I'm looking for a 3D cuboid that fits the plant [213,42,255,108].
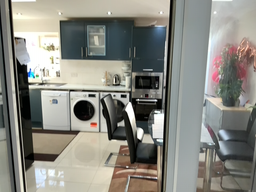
[{"bbox_3d":[1.810,-0.370,3.670,0.450,1.070,0.430,2,11,9],"label":"plant"}]
